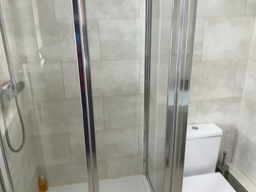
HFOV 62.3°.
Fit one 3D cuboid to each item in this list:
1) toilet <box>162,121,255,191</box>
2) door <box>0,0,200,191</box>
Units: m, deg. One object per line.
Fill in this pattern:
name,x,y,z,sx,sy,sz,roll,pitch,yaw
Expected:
toilet,0.550,0.680,1.530,0.410,0.790,0.590,-3,20,-8
door,-0.190,0.170,1.000,0.980,2.070,0.050,-4,20,-10
